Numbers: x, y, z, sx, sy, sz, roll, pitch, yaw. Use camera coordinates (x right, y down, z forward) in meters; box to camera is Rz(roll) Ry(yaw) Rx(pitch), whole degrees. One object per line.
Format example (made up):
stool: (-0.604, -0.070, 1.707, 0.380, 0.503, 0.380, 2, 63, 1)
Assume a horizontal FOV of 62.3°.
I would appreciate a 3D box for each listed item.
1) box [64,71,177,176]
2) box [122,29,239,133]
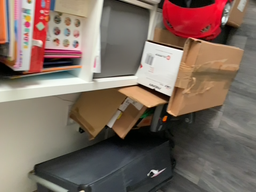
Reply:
box: (-0.050, 0.120, 1.420, 0.460, 0.520, 0.460, 22, 110, 36)
box: (0.280, -0.100, 1.100, 0.330, 0.470, 0.370, 25, 112, 35)
